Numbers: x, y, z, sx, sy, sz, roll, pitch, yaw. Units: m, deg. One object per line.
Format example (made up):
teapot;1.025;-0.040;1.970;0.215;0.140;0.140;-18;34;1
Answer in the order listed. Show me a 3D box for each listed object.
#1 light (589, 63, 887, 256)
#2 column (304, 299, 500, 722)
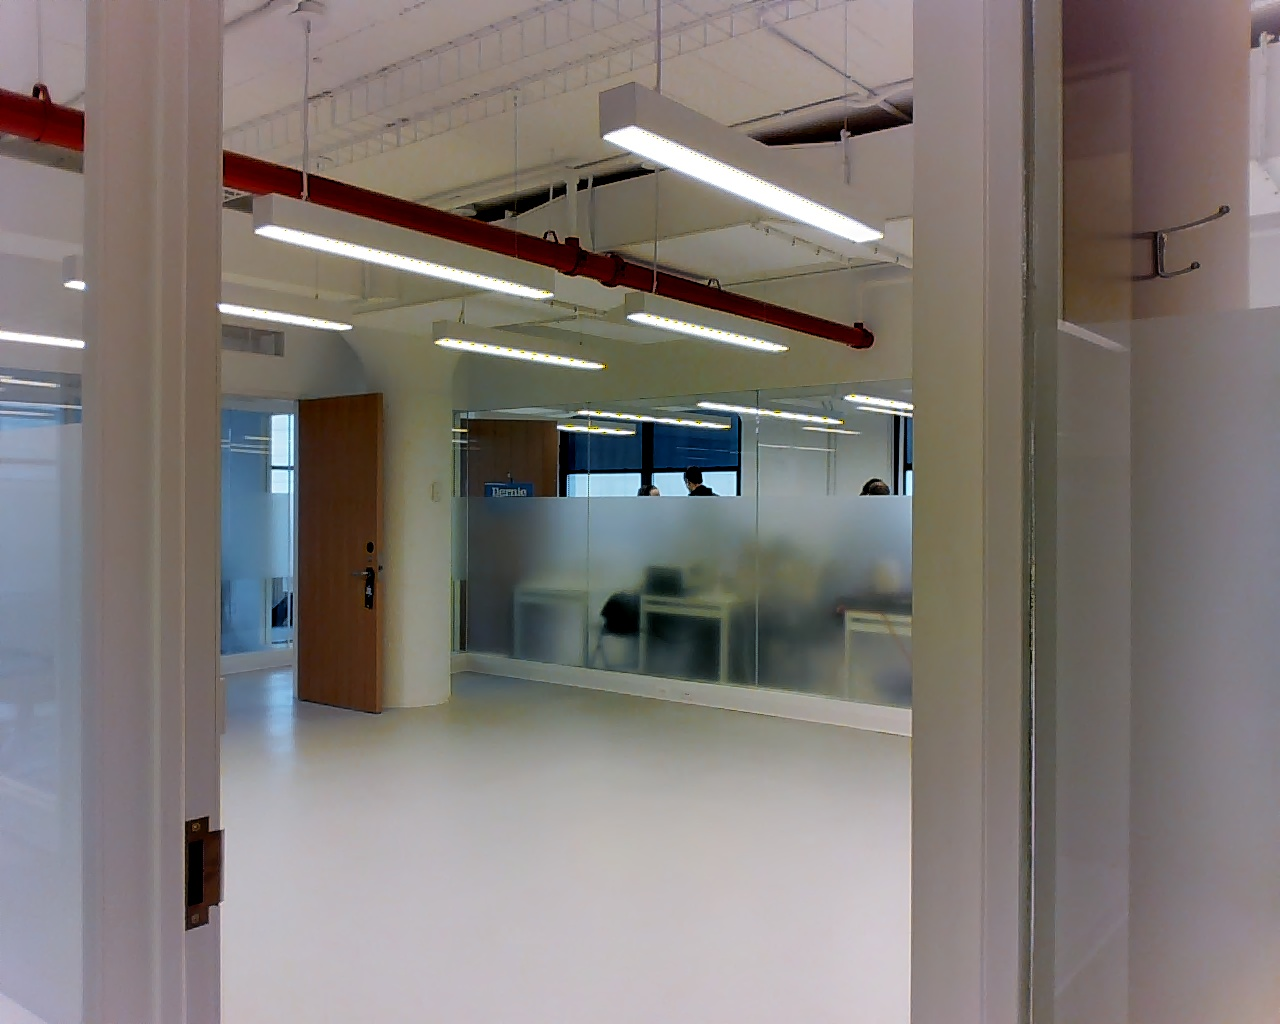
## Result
light;0.320;-0.880;2.820;0.140;0.160;1.230;0;0;38
column;-1.780;-0.010;8.050;1.040;2.901;1.000;0;0;37
